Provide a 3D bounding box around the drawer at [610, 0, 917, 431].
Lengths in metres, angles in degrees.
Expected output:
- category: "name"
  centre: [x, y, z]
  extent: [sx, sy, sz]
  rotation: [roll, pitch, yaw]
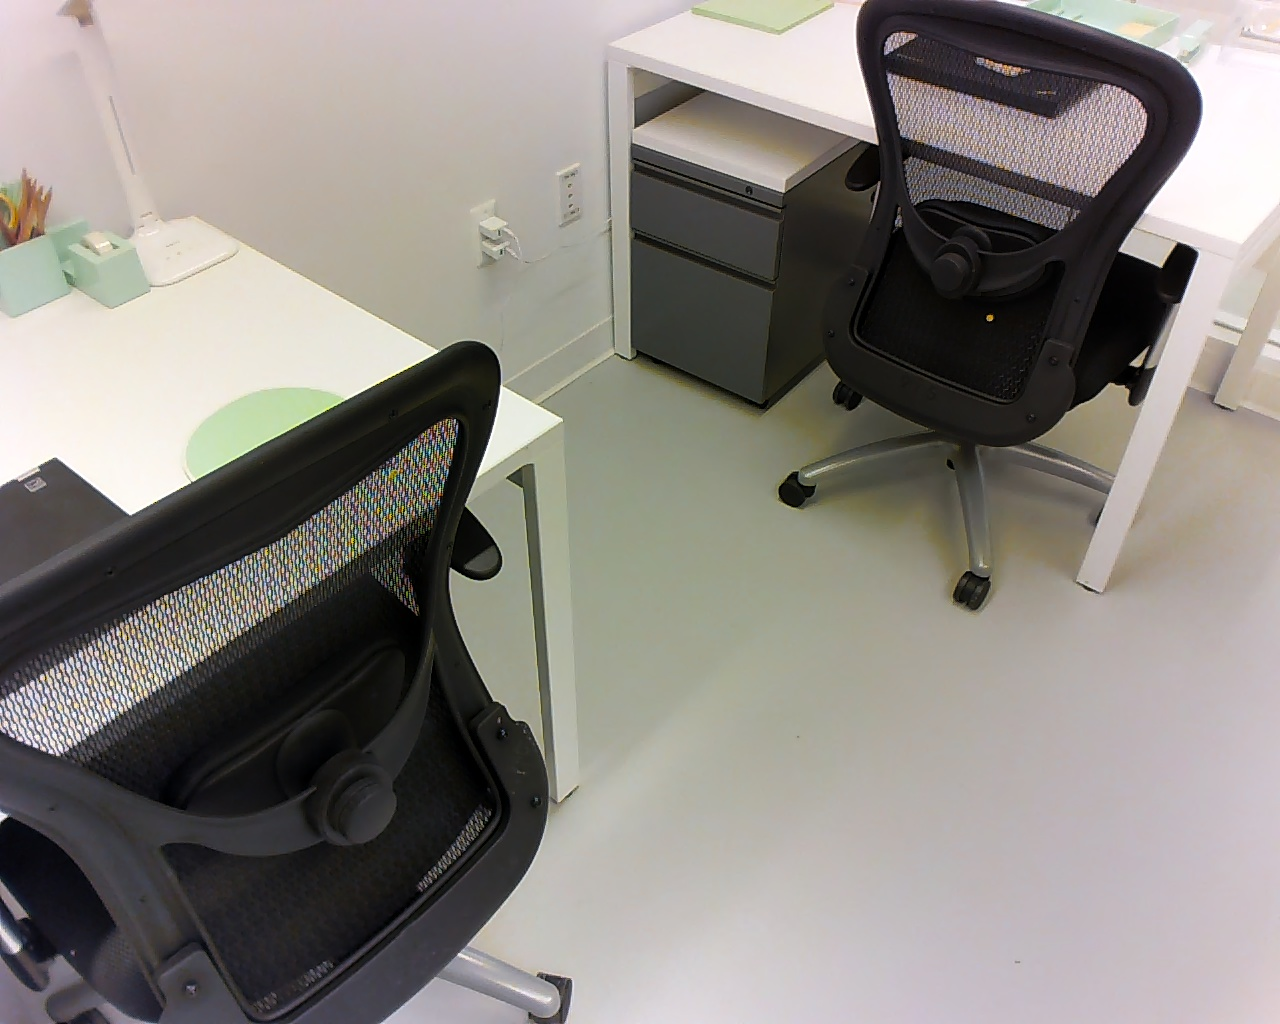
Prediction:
- category: "drawer"
  centre: [0.240, -0.650, 2.350]
  extent: [0.480, 0.740, 0.360]
  rotation: [30, 50, 28]
